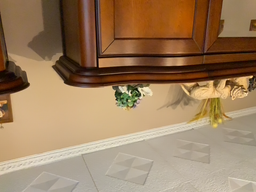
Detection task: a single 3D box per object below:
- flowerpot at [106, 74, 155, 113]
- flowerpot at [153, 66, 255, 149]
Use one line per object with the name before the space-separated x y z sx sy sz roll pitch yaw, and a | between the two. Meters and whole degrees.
flowerpot | 0.010 -0.020 1.070 0.200 0.140 0.140 -8 -160 -26
flowerpot | 0.470 0.040 1.390 0.470 0.380 0.360 -8 -160 -25
